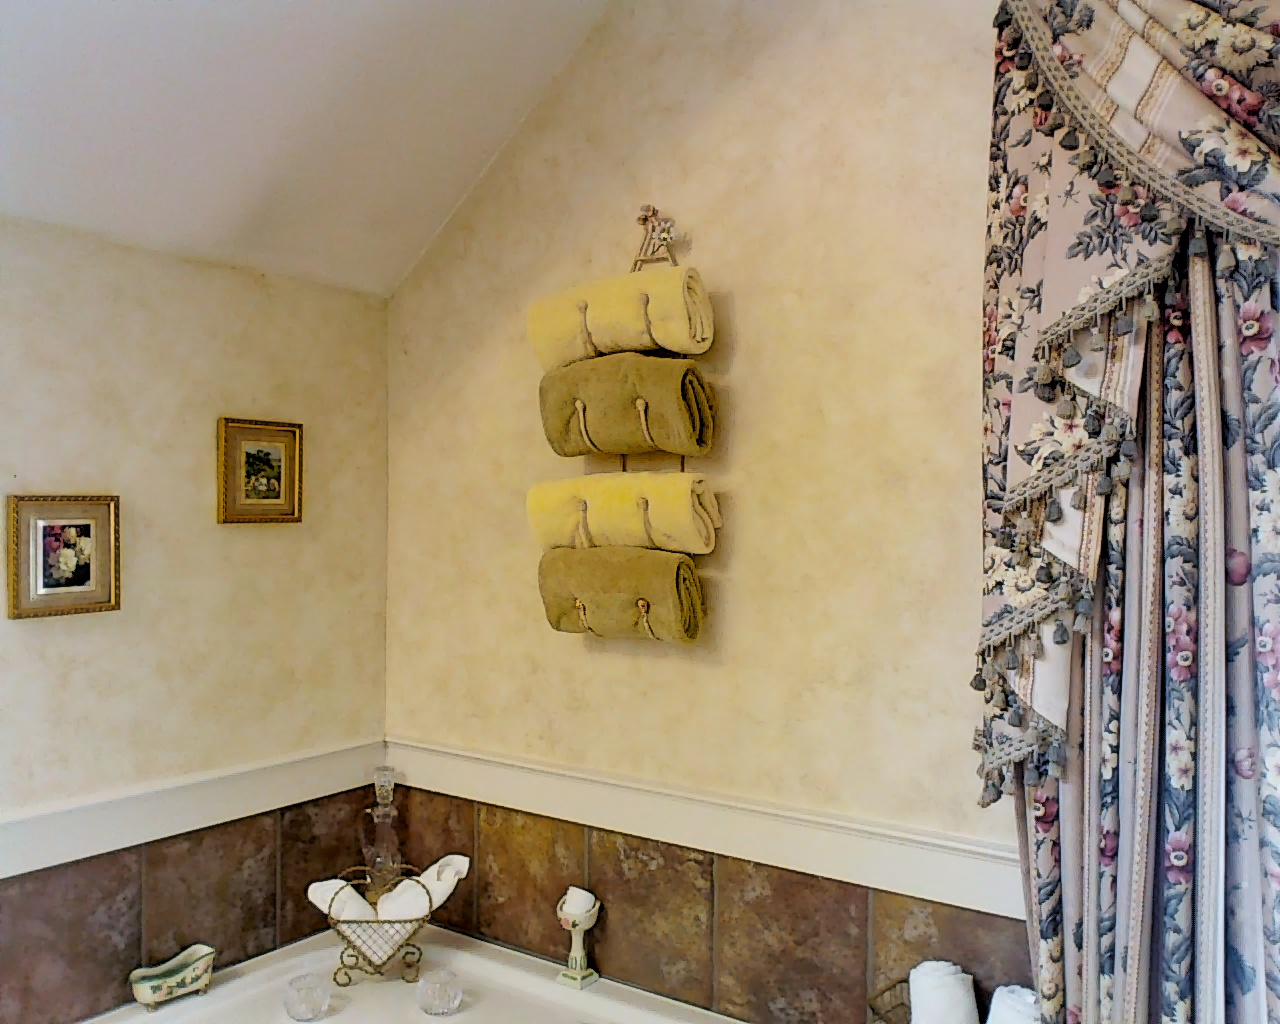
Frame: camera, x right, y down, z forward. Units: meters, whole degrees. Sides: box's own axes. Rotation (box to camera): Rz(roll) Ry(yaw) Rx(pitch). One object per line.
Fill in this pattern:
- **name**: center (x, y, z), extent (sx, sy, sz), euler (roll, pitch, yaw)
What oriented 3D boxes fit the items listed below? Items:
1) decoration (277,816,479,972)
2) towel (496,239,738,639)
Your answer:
- **decoration**: center (-0.550, 0.810, 2.320), extent (0.390, 0.220, 0.300), euler (2, 0, -9)
- **towel**: center (-0.050, -0.130, 2.040), extent (0.430, 0.690, 0.150), euler (2, 0, 34)
